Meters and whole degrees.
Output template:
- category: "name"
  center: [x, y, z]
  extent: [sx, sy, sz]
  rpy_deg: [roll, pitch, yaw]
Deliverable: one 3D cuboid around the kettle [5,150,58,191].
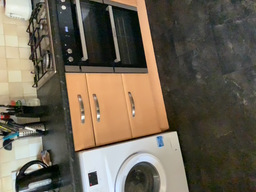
- category: "kettle"
  center: [-0.700, 0.560, 1.540]
  extent: [0.160, 0.300, 0.260]
  rpy_deg: [-23, 75, 52]
